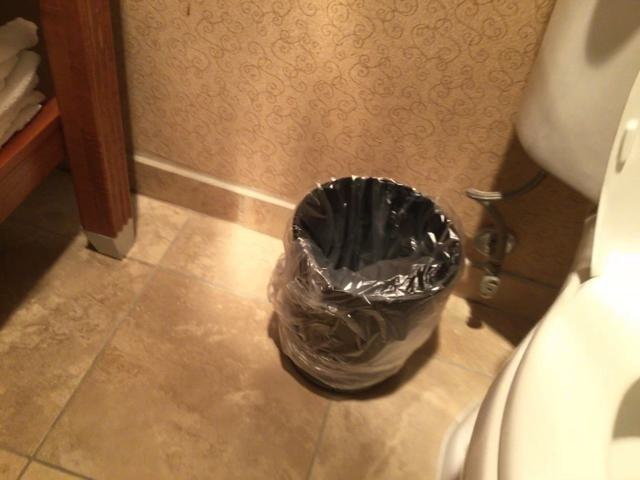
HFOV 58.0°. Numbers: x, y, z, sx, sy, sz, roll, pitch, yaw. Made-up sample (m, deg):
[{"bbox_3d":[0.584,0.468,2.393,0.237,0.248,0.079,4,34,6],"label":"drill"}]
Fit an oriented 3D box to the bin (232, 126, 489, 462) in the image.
[{"bbox_3d":[0.050,0.070,0.770,0.240,0.280,0.280,16,47,6],"label":"bin"}]
